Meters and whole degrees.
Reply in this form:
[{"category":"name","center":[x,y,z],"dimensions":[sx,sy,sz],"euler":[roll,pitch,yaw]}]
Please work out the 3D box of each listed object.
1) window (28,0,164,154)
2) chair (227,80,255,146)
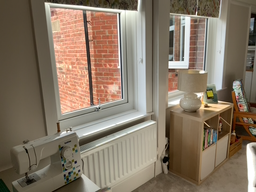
[{"category":"window","center":[-0.230,-0.320,1.960],"dimensions":[1.030,1.290,0.540],"euler":[-12,18,-37]},{"category":"chair","center":[2.090,0.240,3.360],"dimensions":[0.870,0.830,0.810],"euler":[5,16,24]}]
